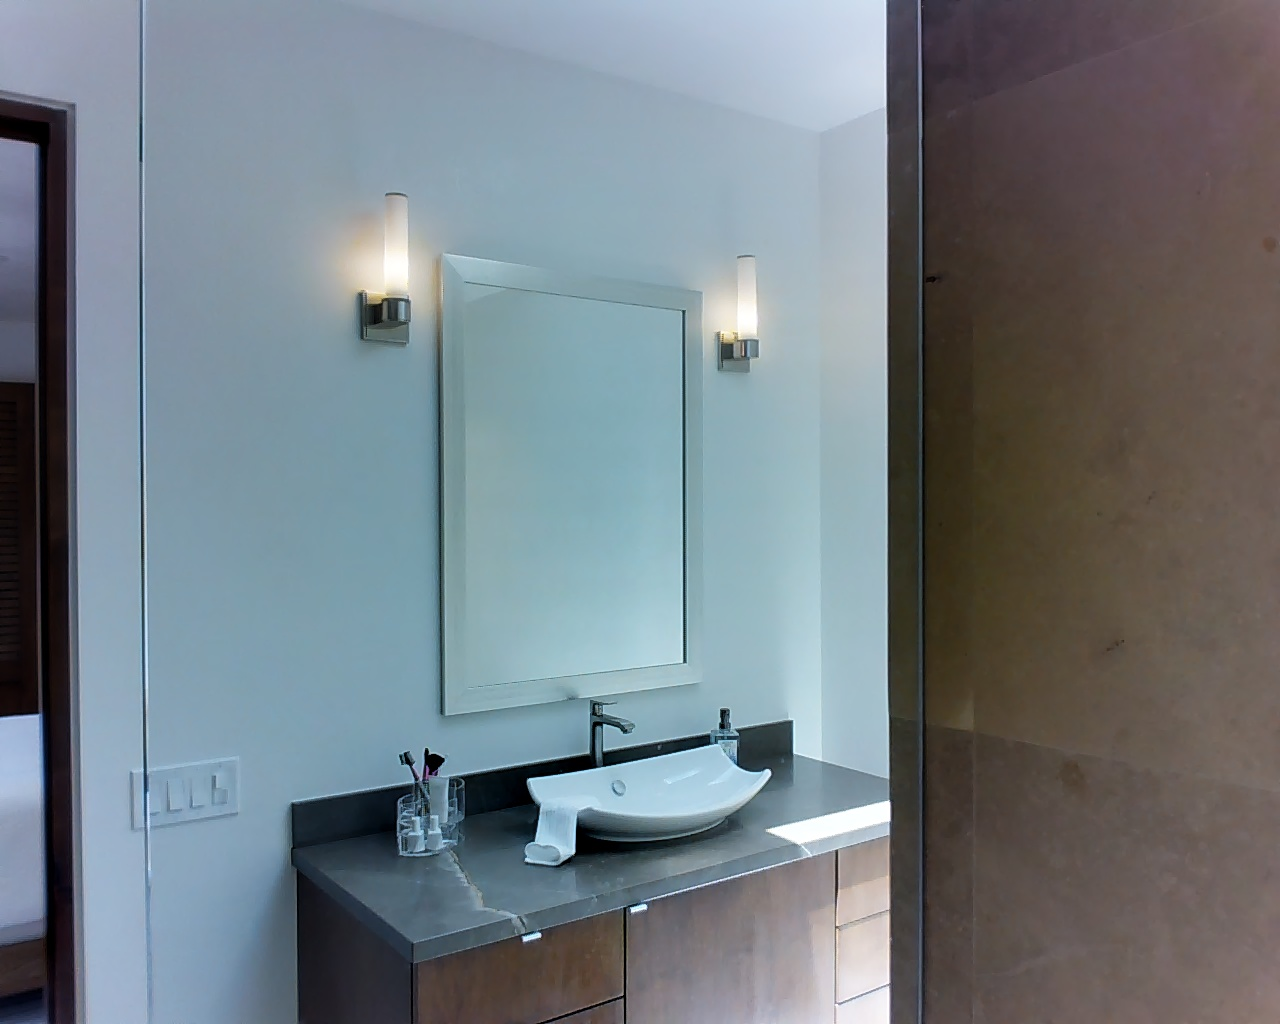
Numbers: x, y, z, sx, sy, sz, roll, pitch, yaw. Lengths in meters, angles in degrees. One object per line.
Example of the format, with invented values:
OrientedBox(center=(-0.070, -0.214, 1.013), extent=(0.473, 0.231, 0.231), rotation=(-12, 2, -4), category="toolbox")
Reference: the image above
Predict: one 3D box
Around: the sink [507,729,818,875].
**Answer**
OrientedBox(center=(0.060, 0.680, 2.610), extent=(0.660, 0.160, 0.380), rotation=(-1, 1, -36), category="sink")
